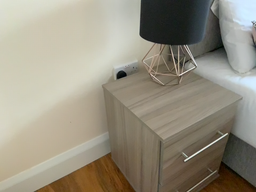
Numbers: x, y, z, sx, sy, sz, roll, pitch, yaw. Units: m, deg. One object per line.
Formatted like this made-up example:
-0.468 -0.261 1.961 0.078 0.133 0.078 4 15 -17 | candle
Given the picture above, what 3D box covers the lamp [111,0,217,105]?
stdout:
0.140 -0.250 0.890 0.310 0.430 0.250 -21 38 -24 | lamp
